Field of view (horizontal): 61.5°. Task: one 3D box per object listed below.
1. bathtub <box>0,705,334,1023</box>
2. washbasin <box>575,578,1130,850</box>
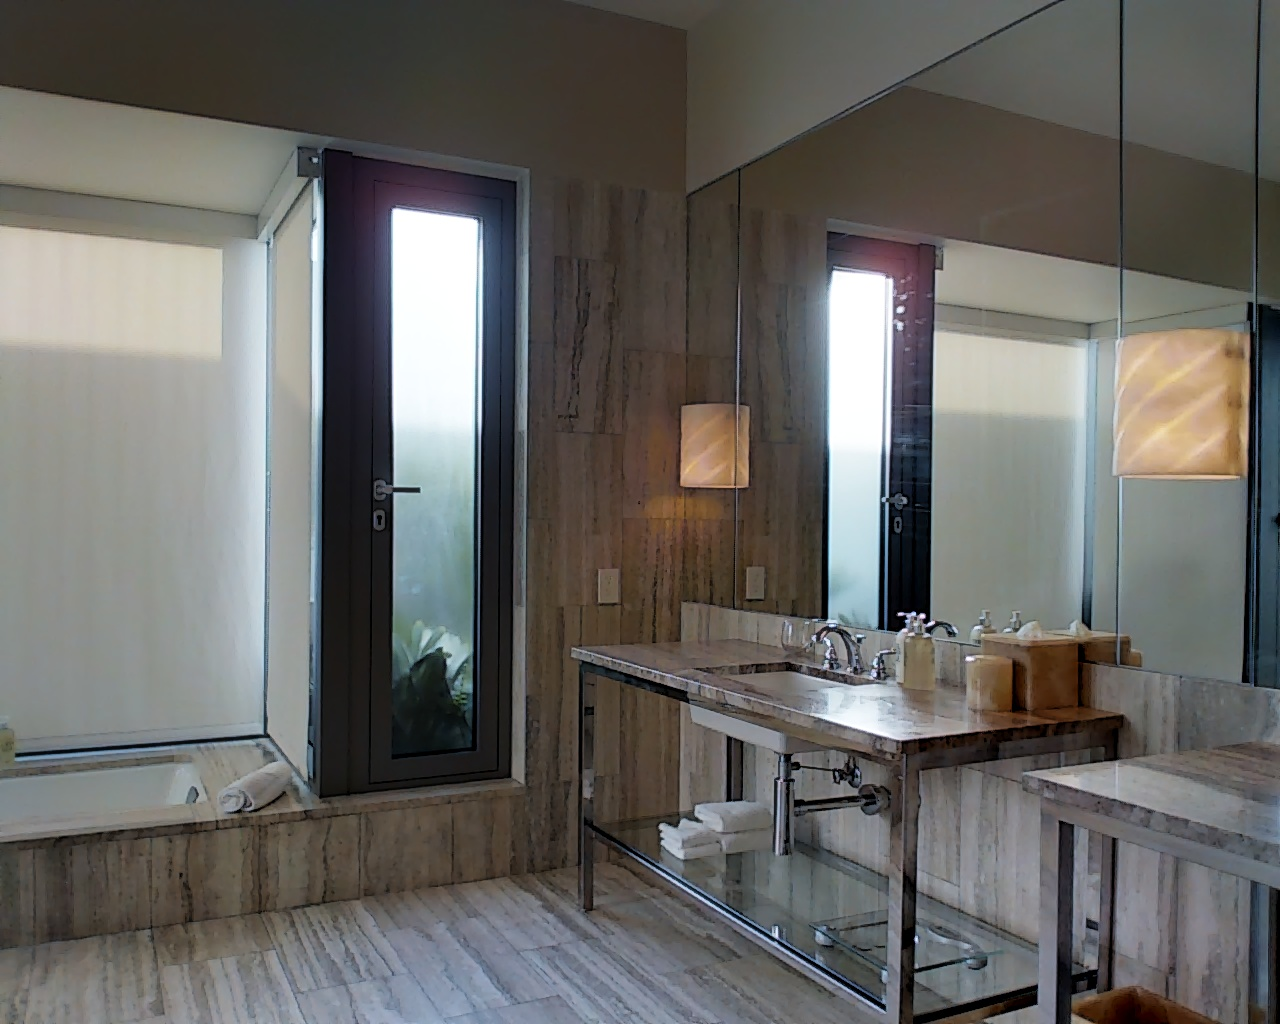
[{"bbox_3d":[-2.220,1.120,3.450,2.190,0.640,1.180,0,0,-27],"label":"bathtub"},{"bbox_3d":[0.420,0.430,2.850,0.610,0.400,1.550,0,0,-27],"label":"washbasin"}]
